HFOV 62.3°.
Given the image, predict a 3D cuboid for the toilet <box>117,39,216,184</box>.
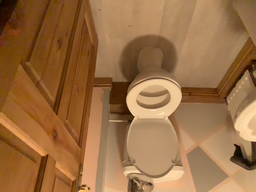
[{"bbox_3d":[0.180,0.140,1.540,0.470,0.800,0.690,3,147,-3],"label":"toilet"}]
